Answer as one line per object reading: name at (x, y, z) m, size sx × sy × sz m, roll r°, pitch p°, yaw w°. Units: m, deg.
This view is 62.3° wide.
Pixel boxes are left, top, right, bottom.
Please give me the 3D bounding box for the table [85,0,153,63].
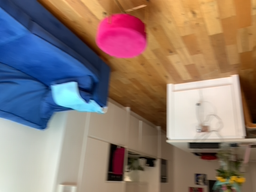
table at (-0.050, -0.580, 1.770) m, size 0.380 × 0.400 × 0.440 m, roll -5°, pitch 158°, yaw 24°
